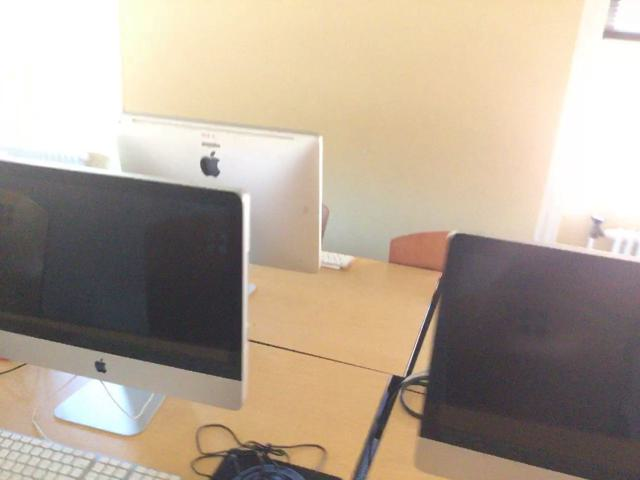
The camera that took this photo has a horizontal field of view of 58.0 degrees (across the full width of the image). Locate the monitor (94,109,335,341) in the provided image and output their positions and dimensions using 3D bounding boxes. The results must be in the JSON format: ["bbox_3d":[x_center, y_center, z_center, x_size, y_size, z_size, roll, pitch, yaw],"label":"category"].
[{"bbox_3d":[-0.250,-0.050,1.380,0.510,0.450,0.180,10,20,15],"label":"monitor"}]

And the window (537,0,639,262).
[{"bbox_3d":[1.220,-0.510,2.360,0.420,1.140,0.240,10,20,15],"label":"window"}]
